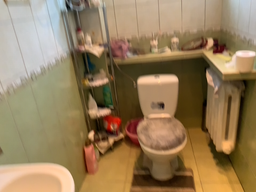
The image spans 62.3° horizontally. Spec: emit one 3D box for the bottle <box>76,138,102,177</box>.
[{"bbox_3d":[-0.340,0.540,1.880,0.120,0.250,0.210,-1,25,13],"label":"bottle"}]
